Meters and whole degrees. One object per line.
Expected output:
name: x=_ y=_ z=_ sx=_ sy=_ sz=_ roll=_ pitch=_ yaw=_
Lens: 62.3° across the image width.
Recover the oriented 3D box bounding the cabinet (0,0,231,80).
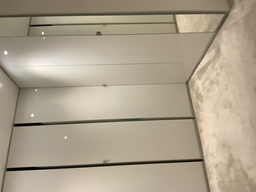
cabinet: x=-0.300 y=-0.780 z=2.460 sx=1.260 sy=2.300 sz=0.610 roll=97 pitch=170 yaw=-66
